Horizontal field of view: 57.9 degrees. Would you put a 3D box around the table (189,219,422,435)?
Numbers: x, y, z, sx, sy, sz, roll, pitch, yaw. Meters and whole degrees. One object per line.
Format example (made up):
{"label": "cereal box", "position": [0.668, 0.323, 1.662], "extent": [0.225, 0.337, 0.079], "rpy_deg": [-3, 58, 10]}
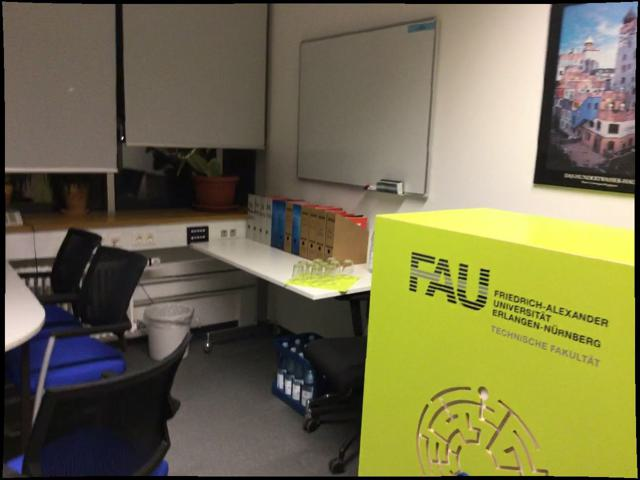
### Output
{"label": "table", "position": [-0.170, 0.400, 3.490], "extent": [0.680, 0.781, 1.410], "rpy_deg": [-7, 16, -37]}

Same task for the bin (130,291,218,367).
{"label": "bin", "position": [-0.949, 0.561, 3.760], "extent": [0.420, 0.300, 0.410], "rpy_deg": [-7, 16, -36]}
